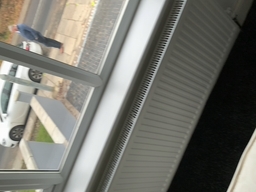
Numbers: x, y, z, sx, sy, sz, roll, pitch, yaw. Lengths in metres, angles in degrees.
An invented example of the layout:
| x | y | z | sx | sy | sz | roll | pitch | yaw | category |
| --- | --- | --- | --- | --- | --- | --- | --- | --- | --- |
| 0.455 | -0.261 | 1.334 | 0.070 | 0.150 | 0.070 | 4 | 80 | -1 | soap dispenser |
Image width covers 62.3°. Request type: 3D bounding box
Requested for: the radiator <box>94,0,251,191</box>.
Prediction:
| x | y | z | sx | sy | sz | roll | pitch | yaw | category |
| --- | --- | --- | --- | --- | --- | --- | --- | --- | --- |
| 0.210 | 0.200 | 1.200 | 0.080 | 0.570 | 1.550 | 30 | 100 | 48 | radiator |
